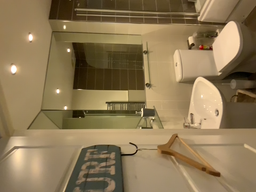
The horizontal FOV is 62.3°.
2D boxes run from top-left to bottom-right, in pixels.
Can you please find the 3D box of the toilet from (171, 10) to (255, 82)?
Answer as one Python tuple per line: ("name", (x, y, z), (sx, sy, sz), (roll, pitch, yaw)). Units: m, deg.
("toilet", (0.940, -0.460, 2.120), (0.640, 0.820, 0.380), (102, 167, -66))
